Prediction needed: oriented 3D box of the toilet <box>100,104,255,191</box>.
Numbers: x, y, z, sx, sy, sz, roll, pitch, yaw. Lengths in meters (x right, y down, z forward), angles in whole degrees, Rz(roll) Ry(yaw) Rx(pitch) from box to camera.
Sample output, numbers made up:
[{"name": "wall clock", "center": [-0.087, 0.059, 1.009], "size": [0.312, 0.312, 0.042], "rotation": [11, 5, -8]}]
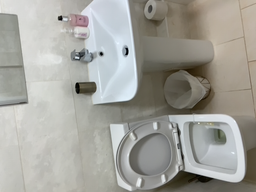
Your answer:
[{"name": "toilet", "center": [0.370, 0.320, 1.260], "size": [0.590, 0.840, 0.420], "rotation": [-10, 87, 55]}]

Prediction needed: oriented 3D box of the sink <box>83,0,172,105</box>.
[{"name": "sink", "center": [-0.030, -0.250, 1.120], "size": [0.440, 0.190, 0.560], "rotation": [-7, 90, 55]}]
